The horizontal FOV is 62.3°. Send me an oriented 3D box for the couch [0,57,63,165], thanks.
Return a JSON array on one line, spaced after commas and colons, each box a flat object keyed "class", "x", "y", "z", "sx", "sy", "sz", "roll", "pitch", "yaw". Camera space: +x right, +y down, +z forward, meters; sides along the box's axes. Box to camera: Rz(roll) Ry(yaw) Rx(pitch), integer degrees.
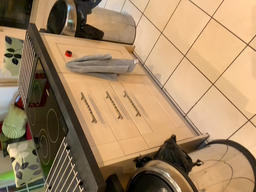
[{"class": "couch", "x": -1.830, "y": 0.300, "z": 3.650, "sx": 0.710, "sy": 0.820, "sz": 1.770, "roll": 53, "pitch": 131, "yaw": 34}]
